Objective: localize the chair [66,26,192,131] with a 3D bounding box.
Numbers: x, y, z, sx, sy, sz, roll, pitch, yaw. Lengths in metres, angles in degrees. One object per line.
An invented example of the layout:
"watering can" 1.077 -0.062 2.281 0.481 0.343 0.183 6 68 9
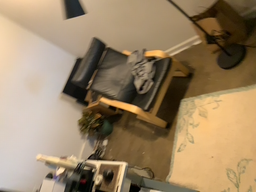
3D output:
"chair" -0.020 -0.160 2.350 0.880 0.900 0.640 11 76 58

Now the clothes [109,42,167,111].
"clothes" 0.070 -0.250 2.380 0.370 0.280 0.780 -51 33 19
